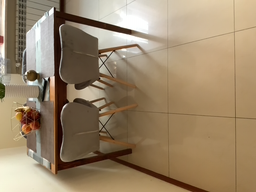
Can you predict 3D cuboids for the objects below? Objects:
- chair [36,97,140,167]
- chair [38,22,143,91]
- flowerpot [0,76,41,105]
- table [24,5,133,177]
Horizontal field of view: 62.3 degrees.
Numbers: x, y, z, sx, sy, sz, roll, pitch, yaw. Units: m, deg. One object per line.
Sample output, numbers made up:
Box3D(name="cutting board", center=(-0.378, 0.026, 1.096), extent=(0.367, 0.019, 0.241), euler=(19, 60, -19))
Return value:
Box3D(name="chair", center=(-0.340, 0.250, 1.850), extent=(0.480, 0.730, 0.440), euler=(6, 95, 50))
Box3D(name="chair", center=(-0.310, -0.280, 1.810), extent=(0.470, 0.730, 0.440), euler=(6, 95, 50))
Box3D(name="flowerpot", center=(-0.940, -0.050, 1.690), extent=(0.240, 0.400, 0.210), euler=(8, 96, 50))
Box3D(name="table", center=(-0.490, -0.030, 2.030), extent=(0.760, 0.740, 1.220), euler=(-2, 89, 50))
